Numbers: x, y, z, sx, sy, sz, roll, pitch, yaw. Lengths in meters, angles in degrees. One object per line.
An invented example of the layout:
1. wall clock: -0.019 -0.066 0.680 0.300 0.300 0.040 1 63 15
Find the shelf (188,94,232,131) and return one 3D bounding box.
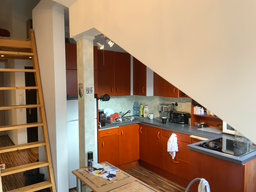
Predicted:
1. shelf: 1.300 0.240 3.400 0.220 0.510 0.630 -3 4 -37
